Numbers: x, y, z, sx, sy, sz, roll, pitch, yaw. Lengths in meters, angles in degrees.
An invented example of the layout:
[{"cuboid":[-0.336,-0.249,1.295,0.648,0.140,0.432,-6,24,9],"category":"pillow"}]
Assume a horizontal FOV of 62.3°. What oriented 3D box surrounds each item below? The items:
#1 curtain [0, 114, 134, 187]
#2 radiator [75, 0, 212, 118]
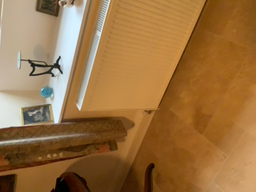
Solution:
[{"cuboid":[-0.780,0.300,1.070,0.250,1.820,0.250,43,122,44],"category":"curtain"},{"cuboid":[0.120,-0.300,1.240,0.070,0.660,0.950,44,123,43],"category":"radiator"}]
